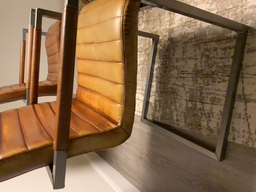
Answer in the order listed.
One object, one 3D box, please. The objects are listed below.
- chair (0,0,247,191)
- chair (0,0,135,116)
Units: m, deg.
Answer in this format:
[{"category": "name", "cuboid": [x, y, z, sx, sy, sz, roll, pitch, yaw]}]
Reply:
[{"category": "chair", "cuboid": [-0.110, -0.100, 0.810, 0.540, 0.860, 0.630, 17, 102, 58]}, {"category": "chair", "cuboid": [-0.510, -0.230, 1.440, 0.580, 0.890, 0.620, 14, 100, 58]}]
